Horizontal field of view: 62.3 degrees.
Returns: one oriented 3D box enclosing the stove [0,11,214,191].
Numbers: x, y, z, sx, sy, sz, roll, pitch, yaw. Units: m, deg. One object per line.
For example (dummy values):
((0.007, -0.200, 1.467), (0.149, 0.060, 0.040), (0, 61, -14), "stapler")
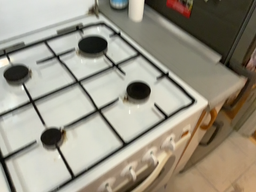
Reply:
((-0.140, 0.000, 0.630), (0.490, 0.140, 0.540), (-27, 57, -23), "stove")
